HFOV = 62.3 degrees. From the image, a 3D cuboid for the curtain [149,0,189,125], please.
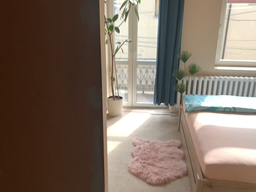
[{"bbox_3d":[0.670,-0.950,3.430,0.500,2.950,0.260,5,18,12],"label":"curtain"}]
